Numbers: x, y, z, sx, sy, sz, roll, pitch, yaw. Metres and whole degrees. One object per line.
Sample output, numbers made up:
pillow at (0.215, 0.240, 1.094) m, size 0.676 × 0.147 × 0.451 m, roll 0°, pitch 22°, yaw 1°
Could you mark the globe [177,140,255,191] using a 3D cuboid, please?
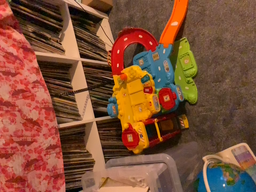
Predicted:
globe at (0.470, 0.390, 0.940) m, size 0.310 × 0.360 × 0.260 m, roll -24°, pitch 80°, yaw 35°
